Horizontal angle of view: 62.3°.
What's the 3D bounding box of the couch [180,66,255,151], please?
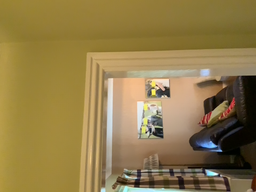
[{"bbox_3d":[1.490,0.300,3.400,1.680,0.930,1.030,75,-166,-78],"label":"couch"}]
